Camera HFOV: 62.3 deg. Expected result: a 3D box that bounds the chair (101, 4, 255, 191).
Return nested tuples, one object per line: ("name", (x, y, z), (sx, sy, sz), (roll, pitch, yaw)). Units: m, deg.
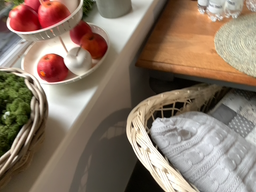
("chair", (0.440, 0.260, 0.890), (0.710, 0.830, 0.590), (-34, 54, -14))
